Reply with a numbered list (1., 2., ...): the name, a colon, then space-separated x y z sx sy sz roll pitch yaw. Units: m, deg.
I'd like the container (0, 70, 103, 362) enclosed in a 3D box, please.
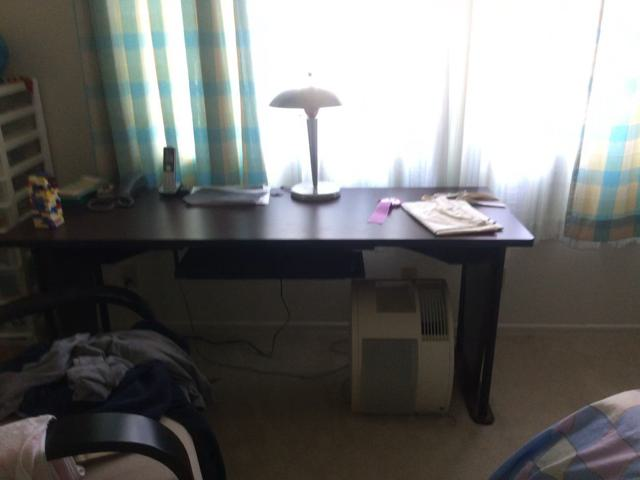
1. container: -1.170 -0.090 2.170 0.390 1.010 0.410 0 21 3
